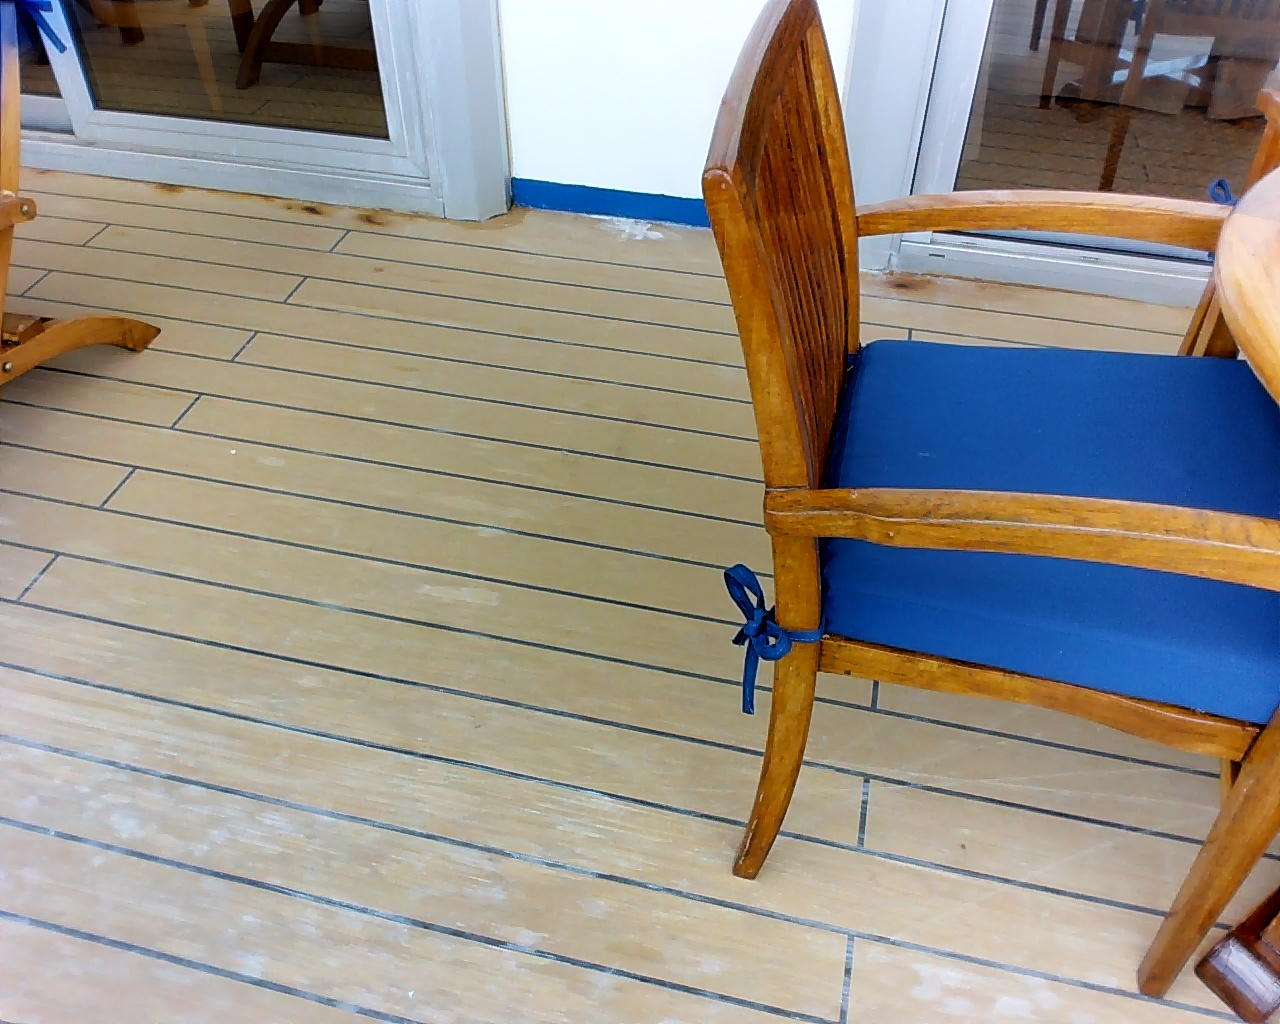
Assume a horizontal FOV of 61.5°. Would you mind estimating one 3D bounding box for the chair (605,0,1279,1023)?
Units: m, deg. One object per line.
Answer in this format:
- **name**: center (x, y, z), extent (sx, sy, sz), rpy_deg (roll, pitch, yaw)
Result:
- **chair**: center (0.430, -0.010, 1.130), extent (0.760, 0.900, 0.630), rpy_deg (9, 42, 11)
